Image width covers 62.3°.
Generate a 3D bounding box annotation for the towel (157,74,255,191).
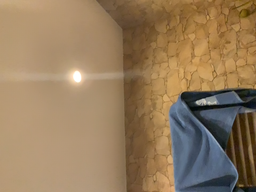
[{"bbox_3d":[0.580,0.260,1.110,0.280,0.770,0.670,30,-124,-63],"label":"towel"}]
